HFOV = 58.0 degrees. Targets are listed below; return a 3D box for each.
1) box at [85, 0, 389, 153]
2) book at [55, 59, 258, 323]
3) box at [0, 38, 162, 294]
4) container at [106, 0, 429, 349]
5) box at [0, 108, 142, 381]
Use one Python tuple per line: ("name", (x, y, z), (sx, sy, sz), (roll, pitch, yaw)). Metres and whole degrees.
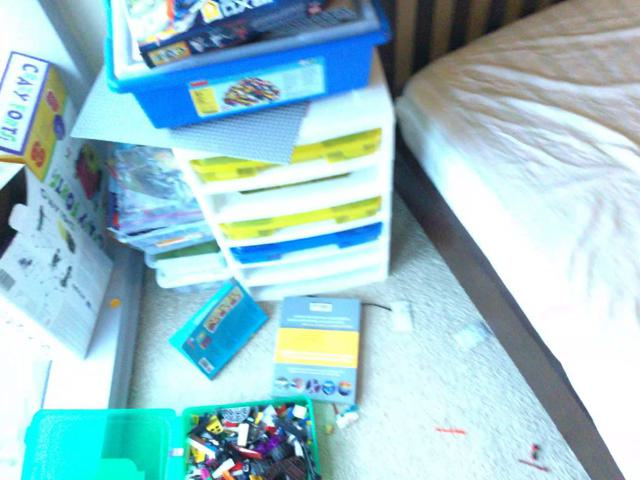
("box", (-0.120, -0.330, 0.890), (0.400, 0.200, 0.230), (-13, 60, 0))
("book", (-0.370, -0.100, 1.360), (0.230, 0.410, 0.410), (-25, 60, -6))
("box", (-0.560, -0.140, 1.280), (0.180, 0.450, 0.320), (-25, 60, -6))
("container", (-0.070, -0.110, 1.250), (0.470, 0.600, 0.340), (-25, 60, -6))
("box", (-0.600, 0.020, 1.150), (0.220, 0.530, 0.310), (-25, 60, -6))
